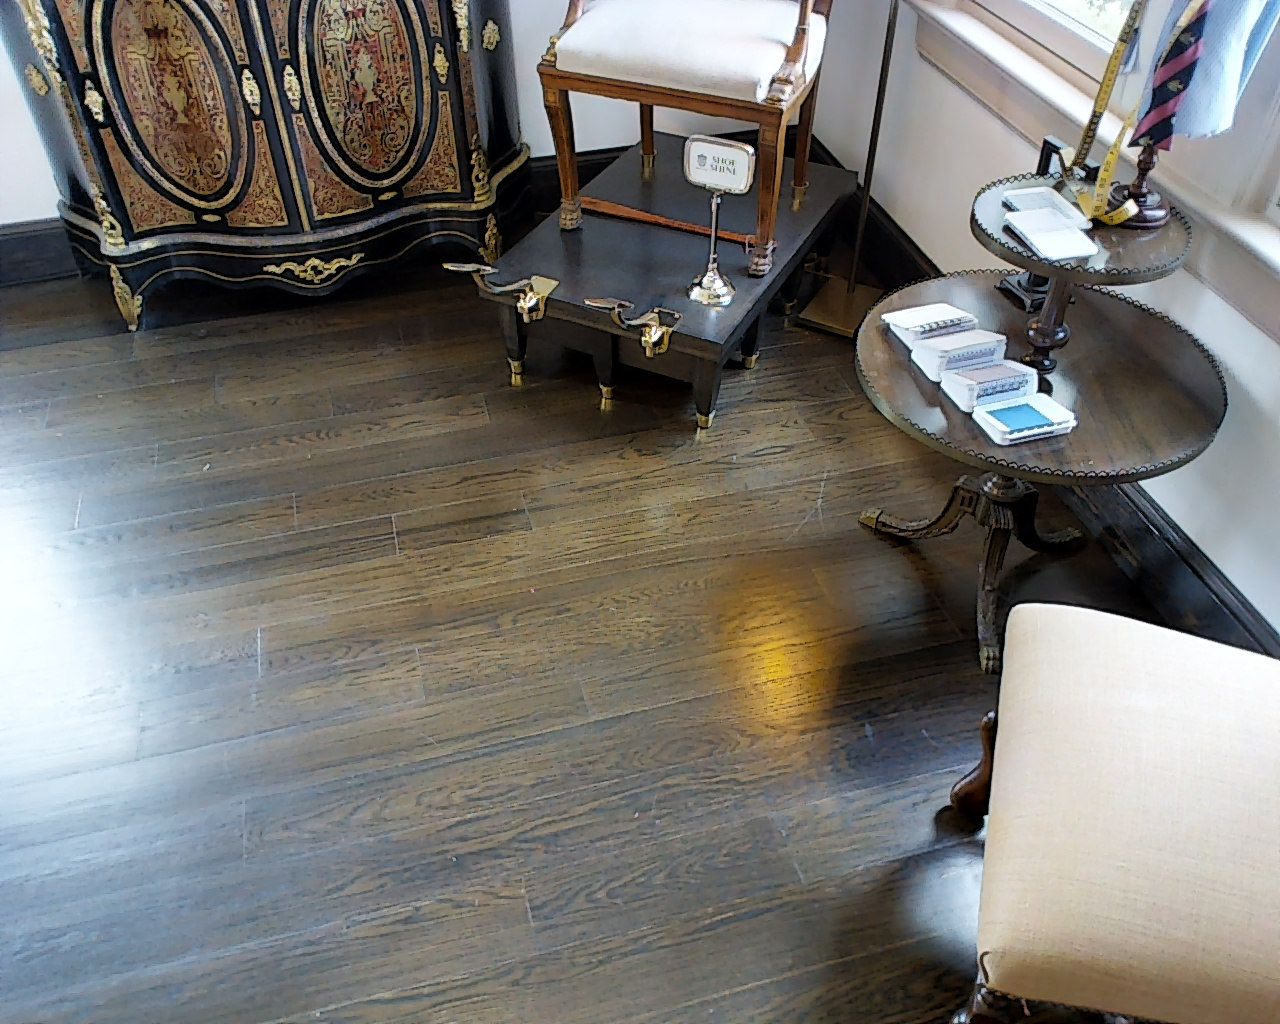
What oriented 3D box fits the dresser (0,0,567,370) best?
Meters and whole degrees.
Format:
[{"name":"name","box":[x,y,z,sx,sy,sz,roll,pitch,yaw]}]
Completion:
[{"name":"dresser","box":[-0.910,-1.040,2.640,1.330,1.080,0.510,-11,44,-11]}]

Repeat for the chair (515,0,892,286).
[{"name":"chair","box":[0.170,-1.130,2.420,0.650,0.900,0.660,17,45,17]}]

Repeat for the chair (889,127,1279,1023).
[{"name":"chair","box":[0.700,0.260,1.150,0.640,1.050,0.590,13,44,14]}]
